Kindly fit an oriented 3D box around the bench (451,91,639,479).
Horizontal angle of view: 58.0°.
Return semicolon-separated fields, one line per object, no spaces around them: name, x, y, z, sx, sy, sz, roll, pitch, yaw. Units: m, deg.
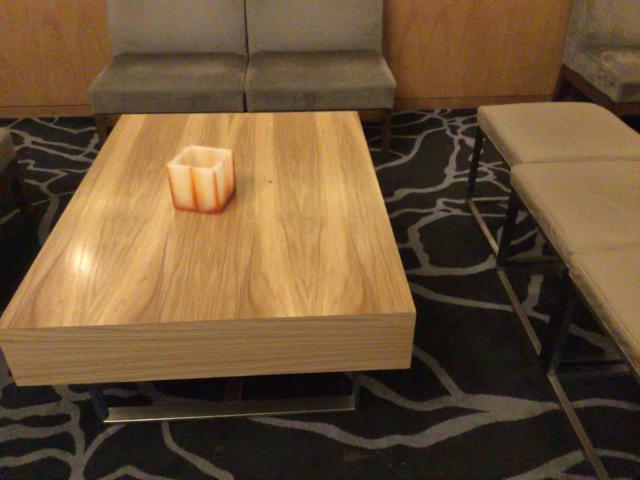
bench;0.900;0.030;1.790;0.570;0.470;1.530;-1;34;-3

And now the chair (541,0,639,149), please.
chair;1.790;-1.010;2.990;0.860;0.840;0.700;-1;34;-3
